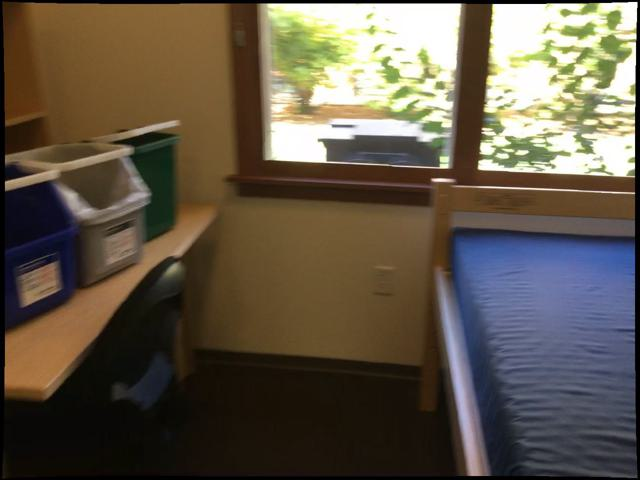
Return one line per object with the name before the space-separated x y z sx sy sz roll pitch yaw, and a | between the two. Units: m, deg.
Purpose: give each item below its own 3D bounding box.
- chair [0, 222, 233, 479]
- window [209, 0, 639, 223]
chair | -0.588 0.491 1.560 0.509 0.902 0.550 7 22 12
window | 0.539 -0.772 2.030 1.835 1.313 0.270 5 22 8
